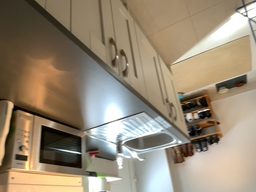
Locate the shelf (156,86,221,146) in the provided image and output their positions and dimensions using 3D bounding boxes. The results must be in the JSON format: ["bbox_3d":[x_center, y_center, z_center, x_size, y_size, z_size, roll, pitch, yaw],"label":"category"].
[{"bbox_3d":[0.900,0.320,3.260,0.780,0.670,0.260,-20,150,21],"label":"shelf"}]

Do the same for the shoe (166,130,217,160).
[{"bbox_3d":[0.920,0.730,3.100,0.650,0.250,0.200,-20,150,21],"label":"shoe"}]
